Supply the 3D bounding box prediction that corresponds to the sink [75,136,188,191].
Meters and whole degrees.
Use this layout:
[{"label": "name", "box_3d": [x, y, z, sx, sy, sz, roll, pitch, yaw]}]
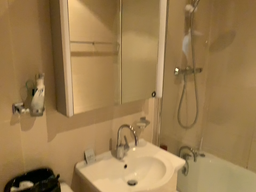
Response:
[{"label": "sink", "box_3d": [0.030, 0.460, 1.300, 0.580, 0.160, 0.370, -11, 18, -38]}]
